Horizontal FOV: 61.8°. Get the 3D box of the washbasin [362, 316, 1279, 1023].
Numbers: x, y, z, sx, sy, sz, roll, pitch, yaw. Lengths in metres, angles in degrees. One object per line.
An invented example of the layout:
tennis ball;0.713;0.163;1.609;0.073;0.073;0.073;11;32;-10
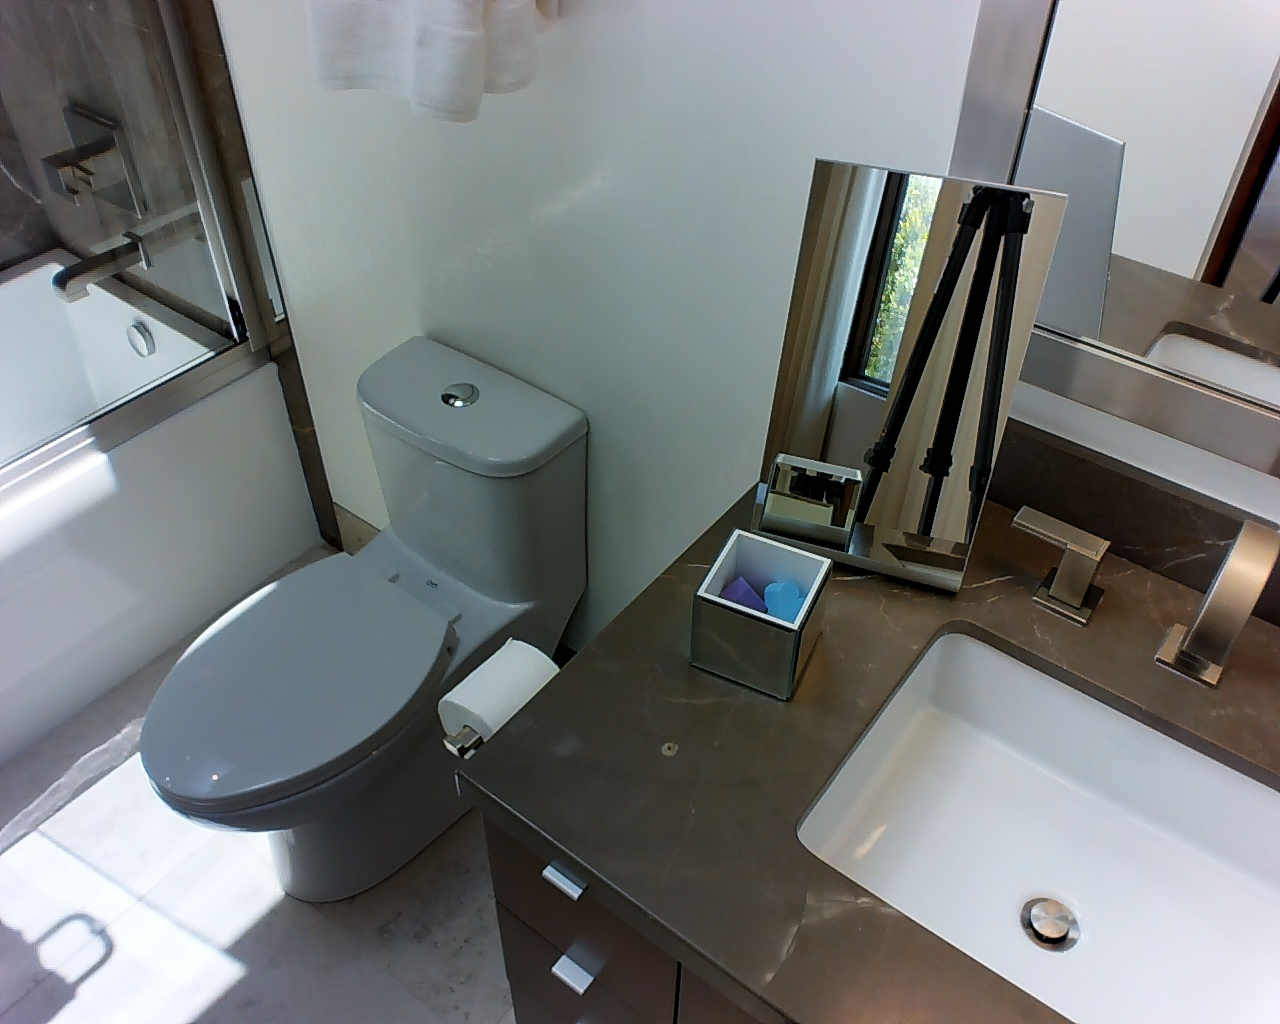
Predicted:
washbasin;0.410;0.280;0.900;1.040;0.290;0.700;27;49;27
